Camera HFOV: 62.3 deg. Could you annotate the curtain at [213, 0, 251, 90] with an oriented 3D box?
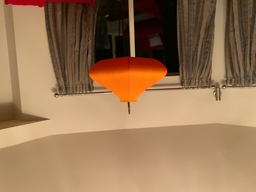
[{"bbox_3d":[1.270,-0.750,2.600,0.380,1.340,0.200,2,-172,35],"label":"curtain"}]
